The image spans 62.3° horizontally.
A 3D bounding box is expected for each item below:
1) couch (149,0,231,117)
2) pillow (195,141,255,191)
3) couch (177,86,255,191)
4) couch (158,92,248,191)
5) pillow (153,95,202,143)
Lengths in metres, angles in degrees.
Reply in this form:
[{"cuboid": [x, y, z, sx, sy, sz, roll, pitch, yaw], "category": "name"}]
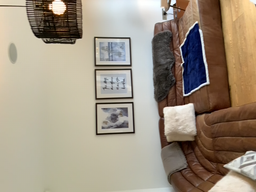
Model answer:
[{"cuboid": [0.890, -0.600, 3.470, 1.170, 0.750, 1.780, 125, 143, -79], "category": "couch"}, {"cuboid": [0.930, 0.680, 1.840, 0.560, 0.190, 0.540, -49, -3, -11], "category": "pillow"}, {"cuboid": [1.100, 0.620, 2.000, 1.340, 0.750, 1.170, 124, 144, -78], "category": "couch"}, {"cuboid": [0.970, 0.670, 3.090, 0.810, 0.740, 1.180, -102, 13, -57], "category": "couch"}, {"cuboid": [0.770, 0.360, 3.310, 0.510, 0.510, 0.200, 51, 169, 7], "category": "pillow"}]
